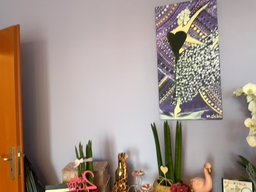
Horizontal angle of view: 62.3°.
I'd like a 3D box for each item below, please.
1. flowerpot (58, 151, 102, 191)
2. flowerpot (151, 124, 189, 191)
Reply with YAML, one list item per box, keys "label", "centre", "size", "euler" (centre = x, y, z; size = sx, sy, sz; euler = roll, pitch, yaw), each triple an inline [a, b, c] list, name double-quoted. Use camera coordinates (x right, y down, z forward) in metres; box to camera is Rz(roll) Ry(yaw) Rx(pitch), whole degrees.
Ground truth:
- label: "flowerpot"
  centre: [-0.280, 0.480, 1.250]
  size: [0.200, 0.270, 0.140]
  euler: [-2, -1, 22]
- label: "flowerpot"
  centre: [0.270, 0.400, 1.330]
  size: [0.190, 0.420, 0.200]
  euler: [-2, -1, 22]
